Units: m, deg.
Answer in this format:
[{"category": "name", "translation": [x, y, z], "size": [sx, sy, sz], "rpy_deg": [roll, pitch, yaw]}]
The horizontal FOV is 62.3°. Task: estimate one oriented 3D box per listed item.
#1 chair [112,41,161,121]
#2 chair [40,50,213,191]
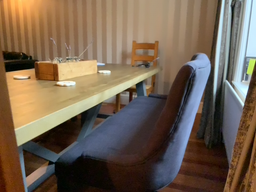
[{"category": "chair", "translation": [0.130, -0.240, 2.970], "size": [0.530, 1.000, 0.560], "rpy_deg": [5, 14, 17]}, {"category": "chair", "translation": [0.180, 0.150, 1.560], "size": [0.660, 0.920, 1.480], "rpy_deg": [5, 14, 18]}]
